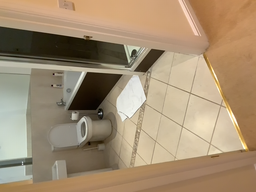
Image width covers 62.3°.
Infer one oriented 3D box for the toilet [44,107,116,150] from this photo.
[{"bbox_3d":[-0.750,0.490,3.240,0.650,0.890,0.390,-48,49,50],"label":"toilet"}]
